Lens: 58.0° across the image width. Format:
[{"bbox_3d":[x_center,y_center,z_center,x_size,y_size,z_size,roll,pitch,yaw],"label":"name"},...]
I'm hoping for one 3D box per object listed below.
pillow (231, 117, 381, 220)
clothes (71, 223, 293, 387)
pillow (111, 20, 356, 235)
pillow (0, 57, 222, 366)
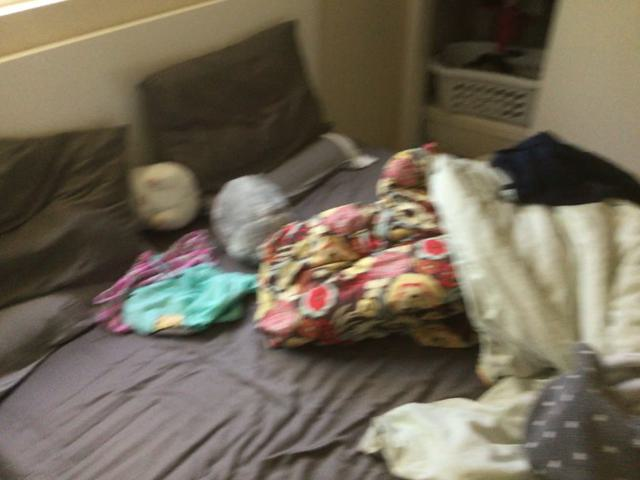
[{"bbox_3d":[-0.030,-0.250,1.880,0.200,0.100,0.500,23,43,34],"label":"pillow"},{"bbox_3d":[-0.330,0.130,1.400,0.380,0.080,0.360,23,43,34],"label":"clothes"},{"bbox_3d":[-0.220,-0.390,1.830,0.270,0.400,0.720,23,43,34],"label":"pillow"},{"bbox_3d":[-0.690,-0.060,1.340,0.310,0.450,0.860,23,43,34],"label":"pillow"}]
